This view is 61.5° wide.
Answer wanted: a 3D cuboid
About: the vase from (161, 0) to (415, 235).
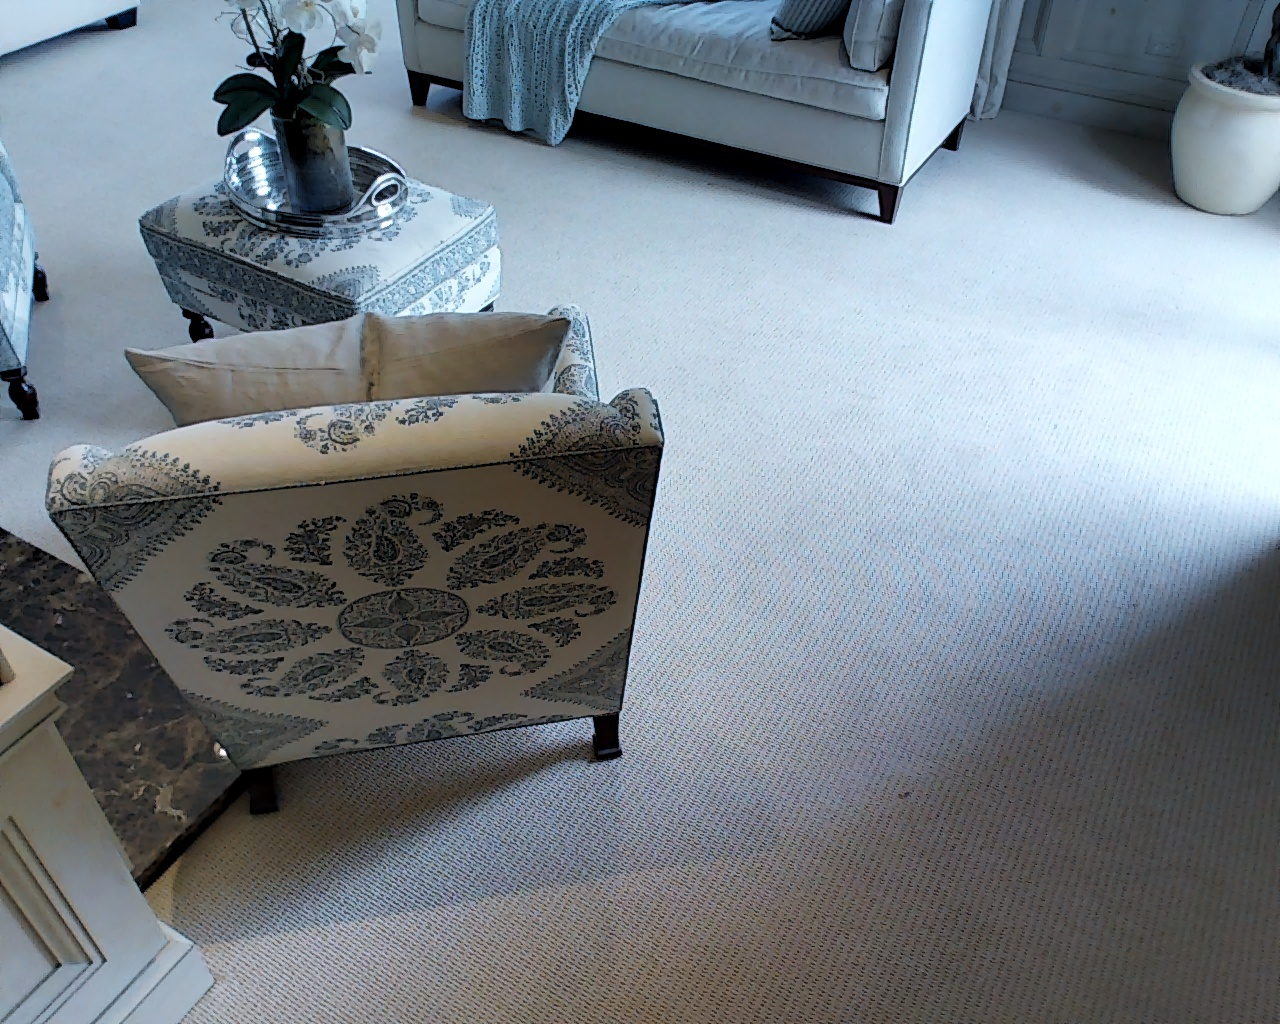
[{"bbox_3d":[-0.770,-0.960,2.380,0.350,0.520,0.310,26,48,25],"label":"vase"}]
